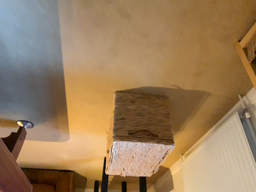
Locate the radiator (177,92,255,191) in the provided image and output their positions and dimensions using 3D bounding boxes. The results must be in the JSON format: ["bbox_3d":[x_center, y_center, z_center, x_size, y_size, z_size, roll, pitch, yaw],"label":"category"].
[{"bbox_3d":[0.820,0.670,1.970,0.160,0.870,1.190,7,143,-10],"label":"radiator"}]
